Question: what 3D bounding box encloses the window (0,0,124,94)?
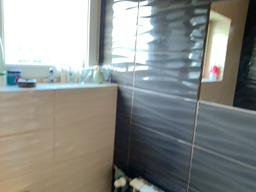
[{"bbox_3d":[-0.400,-0.440,1.260,0.800,0.790,0.200,-6,14,-43],"label":"window"}]
